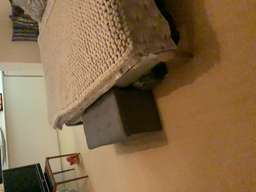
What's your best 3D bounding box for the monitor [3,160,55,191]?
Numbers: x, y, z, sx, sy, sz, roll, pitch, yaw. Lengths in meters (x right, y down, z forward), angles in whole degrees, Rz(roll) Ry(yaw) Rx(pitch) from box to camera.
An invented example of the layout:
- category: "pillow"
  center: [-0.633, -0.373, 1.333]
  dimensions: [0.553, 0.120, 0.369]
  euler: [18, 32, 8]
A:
- category: "monitor"
  center: [-1.400, 1.200, 2.980]
  dimensions: [0.710, 0.560, 0.040]
  euler: [37, 123, 49]
